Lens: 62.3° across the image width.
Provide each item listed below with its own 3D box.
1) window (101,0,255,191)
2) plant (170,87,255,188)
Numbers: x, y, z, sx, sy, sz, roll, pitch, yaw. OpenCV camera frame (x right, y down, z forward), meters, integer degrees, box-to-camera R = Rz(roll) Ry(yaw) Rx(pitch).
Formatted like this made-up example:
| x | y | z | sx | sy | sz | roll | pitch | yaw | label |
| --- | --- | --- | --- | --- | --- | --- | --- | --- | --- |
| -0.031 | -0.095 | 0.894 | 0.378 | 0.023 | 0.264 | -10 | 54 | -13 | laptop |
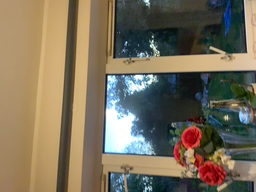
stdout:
| x | y | z | sx | sy | sz | roll | pitch | yaw | label |
| --- | --- | --- | --- | --- | --- | --- | --- | --- | --- |
| 0.310 | 0.080 | 1.290 | 0.030 | 0.920 | 1.650 | 44 | -133 | -76 | window |
| 0.480 | 0.190 | 1.060 | 0.310 | 0.520 | 0.420 | 40 | -130 | -77 | plant |
